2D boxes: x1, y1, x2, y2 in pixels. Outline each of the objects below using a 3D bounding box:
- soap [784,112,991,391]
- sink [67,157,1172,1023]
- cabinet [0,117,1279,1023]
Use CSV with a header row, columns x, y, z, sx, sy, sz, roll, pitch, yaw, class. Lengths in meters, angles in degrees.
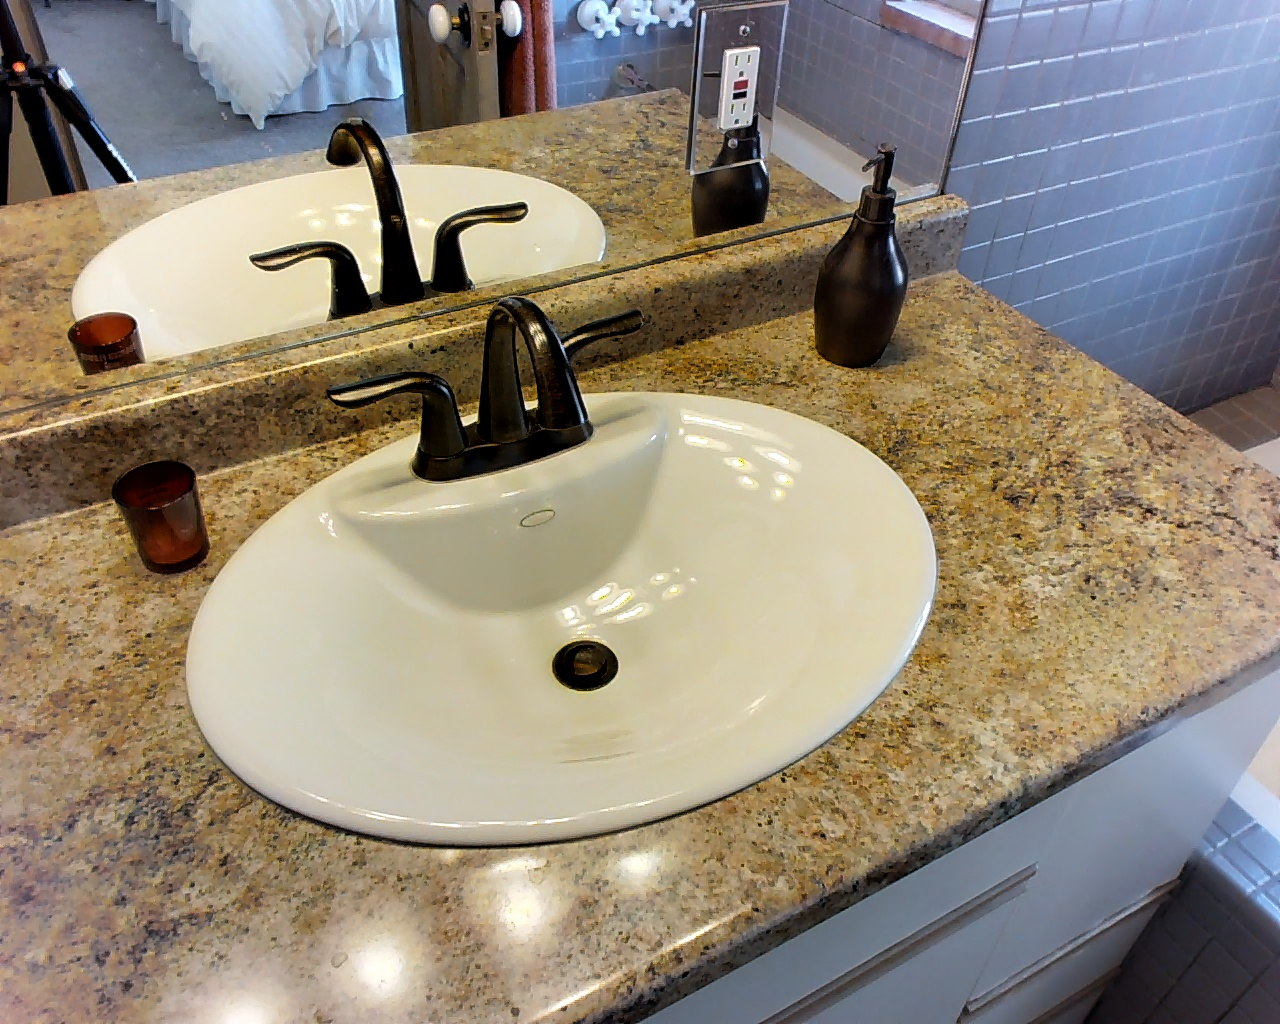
x,y,z,sx,sy,sz,roll,pitch,yaw,class
0.220,-0.240,0.990,0.090,0.200,0.130,-20,46,-23,soap
-0.040,0.010,0.800,0.570,0.280,0.480,-19,46,-23,sink
-0.120,0.330,1.080,1.320,0.990,0.750,-19,46,-23,cabinet
